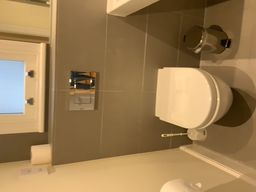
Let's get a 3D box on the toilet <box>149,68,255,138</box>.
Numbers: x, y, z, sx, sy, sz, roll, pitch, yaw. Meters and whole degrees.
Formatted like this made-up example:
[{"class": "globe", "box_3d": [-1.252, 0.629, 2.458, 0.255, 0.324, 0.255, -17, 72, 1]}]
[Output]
[{"class": "toilet", "box_3d": [0.490, 0.010, 1.440, 0.520, 0.450, 0.370, 15, 102, 61]}]
